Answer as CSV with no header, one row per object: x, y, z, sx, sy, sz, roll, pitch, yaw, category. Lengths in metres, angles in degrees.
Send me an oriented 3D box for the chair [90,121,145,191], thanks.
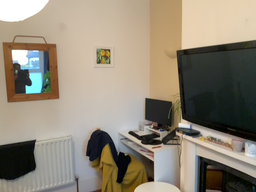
-0.140,0.850,2.780,0.550,0.900,0.500,-4,8,-25,chair
